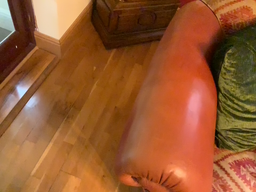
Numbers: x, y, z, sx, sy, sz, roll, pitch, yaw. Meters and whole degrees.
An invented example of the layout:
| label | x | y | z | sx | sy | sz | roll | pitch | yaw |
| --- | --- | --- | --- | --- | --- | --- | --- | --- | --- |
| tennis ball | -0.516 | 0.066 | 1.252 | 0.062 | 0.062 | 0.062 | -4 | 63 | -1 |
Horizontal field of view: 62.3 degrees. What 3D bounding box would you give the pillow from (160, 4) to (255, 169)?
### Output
| label | x | y | z | sx | sy | sz | roll | pitch | yaw |
| --- | --- | --- | --- | --- | --- | --- | --- | --- | --- |
| pillow | 0.580 | -0.080 | 1.010 | 0.580 | 0.420 | 0.470 | -29 | 68 | -30 |
